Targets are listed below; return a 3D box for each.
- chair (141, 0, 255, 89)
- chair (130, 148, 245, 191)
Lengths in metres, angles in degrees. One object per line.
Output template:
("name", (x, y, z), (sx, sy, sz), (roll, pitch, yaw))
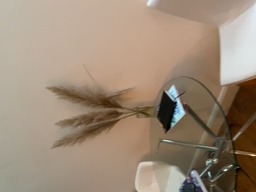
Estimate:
("chair", (0.620, -0.340, 1.200), (0.470, 0.960, 0.510), (150, 118, -69))
("chair", (0.500, 0.860, 1.960), (0.490, 0.790, 0.460), (-118, 33, -55))
